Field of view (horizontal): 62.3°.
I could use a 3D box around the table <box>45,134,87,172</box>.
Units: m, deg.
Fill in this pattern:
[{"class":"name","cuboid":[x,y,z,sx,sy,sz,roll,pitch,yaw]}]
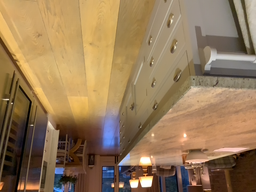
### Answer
[{"class":"table","cuboid":[-1.820,1.850,6.530,0.970,0.790,2.350,3,157,-12]}]
